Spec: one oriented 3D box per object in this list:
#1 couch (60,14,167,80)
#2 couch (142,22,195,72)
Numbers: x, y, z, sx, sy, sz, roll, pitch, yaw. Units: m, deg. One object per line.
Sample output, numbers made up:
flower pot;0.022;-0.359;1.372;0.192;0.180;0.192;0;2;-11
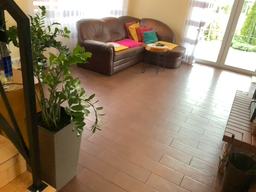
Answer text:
couch;-0.160;-1.250;4.710;1.100;0.870;2.510;20;28;23
couch;0.960;-1.180;4.920;0.730;0.840;1.120;20;28;23
